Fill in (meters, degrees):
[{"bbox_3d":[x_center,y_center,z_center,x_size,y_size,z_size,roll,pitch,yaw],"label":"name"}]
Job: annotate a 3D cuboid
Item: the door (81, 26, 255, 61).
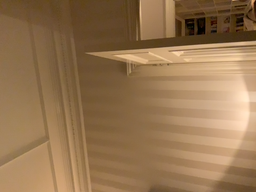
[{"bbox_3d":[0.890,-0.310,1.310,0.910,2.190,0.050,-8,-80,-66],"label":"door"}]
